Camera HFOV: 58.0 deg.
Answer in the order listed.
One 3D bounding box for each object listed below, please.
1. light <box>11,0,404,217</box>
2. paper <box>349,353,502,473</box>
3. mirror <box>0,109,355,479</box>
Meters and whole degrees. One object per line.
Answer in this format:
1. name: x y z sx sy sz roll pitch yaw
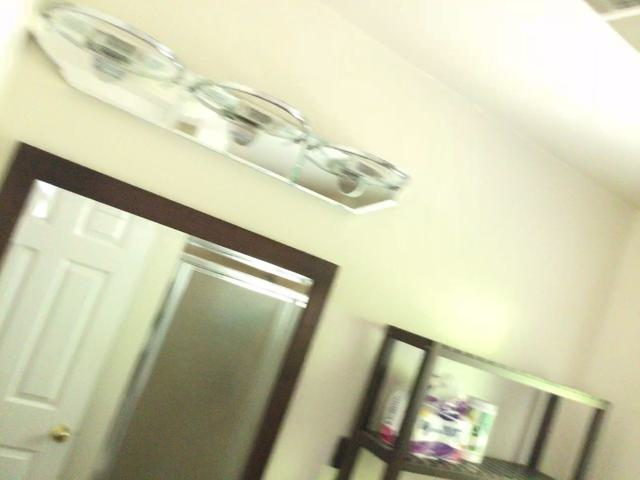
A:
1. light: -0.180 -0.250 1.160 0.770 0.140 0.140 23 -8 -29
2. paper: 0.250 0.410 1.380 0.250 0.180 0.200 23 -8 -29
3. mirror: -0.420 0.380 1.120 0.770 1.010 0.110 23 -8 -29
